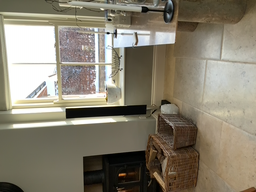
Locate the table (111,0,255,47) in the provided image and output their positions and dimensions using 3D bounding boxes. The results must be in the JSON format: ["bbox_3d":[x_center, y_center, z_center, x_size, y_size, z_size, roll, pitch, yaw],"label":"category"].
[{"bbox_3d":[0.380,-0.730,1.830,1.620,0.770,0.570,-141,51,-71],"label":"table"}]
